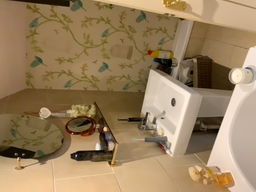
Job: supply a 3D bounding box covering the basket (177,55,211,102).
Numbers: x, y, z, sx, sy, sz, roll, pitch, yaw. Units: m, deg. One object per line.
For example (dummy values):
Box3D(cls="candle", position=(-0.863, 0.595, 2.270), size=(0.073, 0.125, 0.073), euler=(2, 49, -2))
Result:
Box3D(cls="basket", position=(0.660, -0.160, 2.150), size=(0.260, 0.200, 0.440), euler=(174, 97, -66))
